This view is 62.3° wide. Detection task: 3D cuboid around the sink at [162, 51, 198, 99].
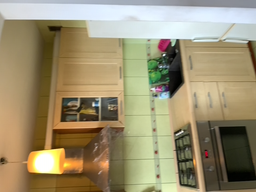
[{"bbox_3d":[0.580,-0.220,2.470,0.540,0.200,0.360,106,163,-70],"label":"sink"}]
